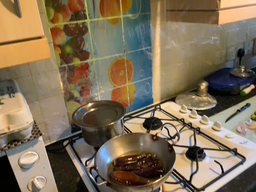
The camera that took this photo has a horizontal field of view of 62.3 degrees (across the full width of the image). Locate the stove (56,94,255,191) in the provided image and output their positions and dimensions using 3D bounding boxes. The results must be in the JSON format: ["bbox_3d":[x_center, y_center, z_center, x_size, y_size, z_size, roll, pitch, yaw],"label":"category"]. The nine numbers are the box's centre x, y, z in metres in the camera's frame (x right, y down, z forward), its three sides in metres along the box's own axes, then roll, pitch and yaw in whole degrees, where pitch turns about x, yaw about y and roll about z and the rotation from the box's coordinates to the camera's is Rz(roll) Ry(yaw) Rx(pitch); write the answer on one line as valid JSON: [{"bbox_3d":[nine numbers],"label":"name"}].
[{"bbox_3d":[0.090,0.170,0.790,0.570,0.030,0.530,-19,28,-27],"label":"stove"}]
